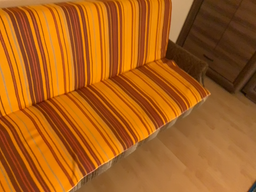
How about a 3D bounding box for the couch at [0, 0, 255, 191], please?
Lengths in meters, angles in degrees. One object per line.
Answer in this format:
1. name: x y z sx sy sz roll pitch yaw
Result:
1. couch: -0.240 -0.090 1.500 2.180 0.940 1.010 -24 57 -37
